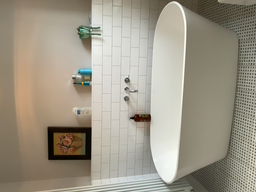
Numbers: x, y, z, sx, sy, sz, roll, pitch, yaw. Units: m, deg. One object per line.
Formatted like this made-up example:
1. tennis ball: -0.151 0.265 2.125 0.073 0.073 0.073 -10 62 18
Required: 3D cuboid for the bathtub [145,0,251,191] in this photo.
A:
1. bathtub: 0.580 -0.020 2.080 0.770 0.540 1.720 -149 60 -73
